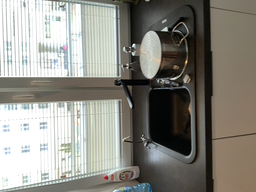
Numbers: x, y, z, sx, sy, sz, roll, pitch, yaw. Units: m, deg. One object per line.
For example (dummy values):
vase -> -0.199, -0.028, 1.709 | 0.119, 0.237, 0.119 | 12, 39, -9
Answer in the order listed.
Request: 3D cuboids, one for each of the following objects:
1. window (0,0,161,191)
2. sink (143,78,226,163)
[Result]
window -> -0.500, -0.150, 1.320 | 0.120, 1.530, 1.580 | -178, 87, -68
sink -> 0.300, 0.110, 1.270 | 0.510, 0.210, 0.400 | -178, 87, -68
